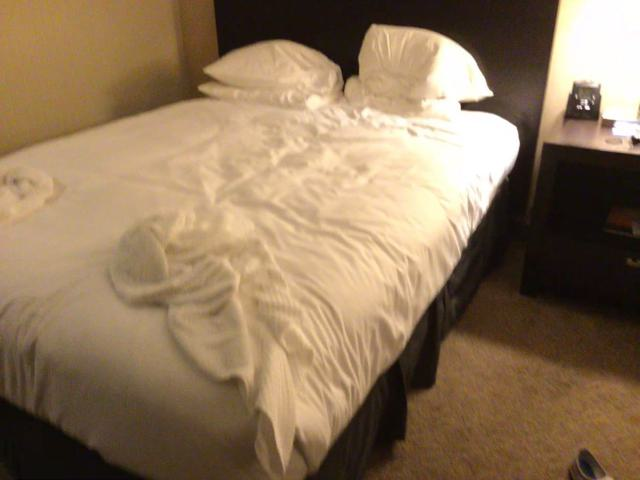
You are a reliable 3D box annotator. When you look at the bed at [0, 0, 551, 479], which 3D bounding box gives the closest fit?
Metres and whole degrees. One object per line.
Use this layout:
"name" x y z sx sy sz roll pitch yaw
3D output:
"bed" -0.280 -0.340 1.890 1.560 1.610 1.970 11 27 27
